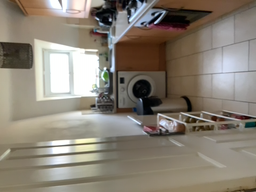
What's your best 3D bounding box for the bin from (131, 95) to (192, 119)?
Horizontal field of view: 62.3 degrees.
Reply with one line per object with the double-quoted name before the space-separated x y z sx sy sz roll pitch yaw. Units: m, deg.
"bin" 0.470 0.140 3.100 0.460 0.760 0.270 -162 72 -75
